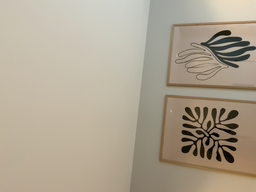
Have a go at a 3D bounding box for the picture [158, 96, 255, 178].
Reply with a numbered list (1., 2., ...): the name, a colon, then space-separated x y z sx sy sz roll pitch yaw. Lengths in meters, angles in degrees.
1. picture: 0.730 0.340 1.920 0.040 0.870 0.630 20 -105 -69

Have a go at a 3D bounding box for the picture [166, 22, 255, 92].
1. picture: 0.790 -0.370 1.990 0.030 0.800 0.620 15 -100 -70
